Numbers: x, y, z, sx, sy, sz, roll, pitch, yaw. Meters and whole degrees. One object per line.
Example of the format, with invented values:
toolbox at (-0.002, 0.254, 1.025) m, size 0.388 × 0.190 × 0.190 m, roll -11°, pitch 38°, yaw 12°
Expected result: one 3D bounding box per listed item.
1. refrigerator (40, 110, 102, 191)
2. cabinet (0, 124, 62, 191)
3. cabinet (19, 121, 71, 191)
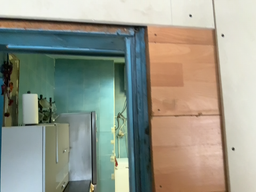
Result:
refrigerator at (-0.760, 1.080, 2.980) m, size 0.750 × 1.710 × 0.610 m, roll -1°, pitch -7°, yaw -9°
cabinet at (-0.760, 0.600, 1.720) m, size 0.360 × 0.720 × 0.410 m, roll -1°, pitch -7°, yaw -9°
cabinet at (-0.850, 0.650, 2.310) m, size 0.360 × 0.720 × 0.790 m, roll -1°, pitch -7°, yaw -9°
